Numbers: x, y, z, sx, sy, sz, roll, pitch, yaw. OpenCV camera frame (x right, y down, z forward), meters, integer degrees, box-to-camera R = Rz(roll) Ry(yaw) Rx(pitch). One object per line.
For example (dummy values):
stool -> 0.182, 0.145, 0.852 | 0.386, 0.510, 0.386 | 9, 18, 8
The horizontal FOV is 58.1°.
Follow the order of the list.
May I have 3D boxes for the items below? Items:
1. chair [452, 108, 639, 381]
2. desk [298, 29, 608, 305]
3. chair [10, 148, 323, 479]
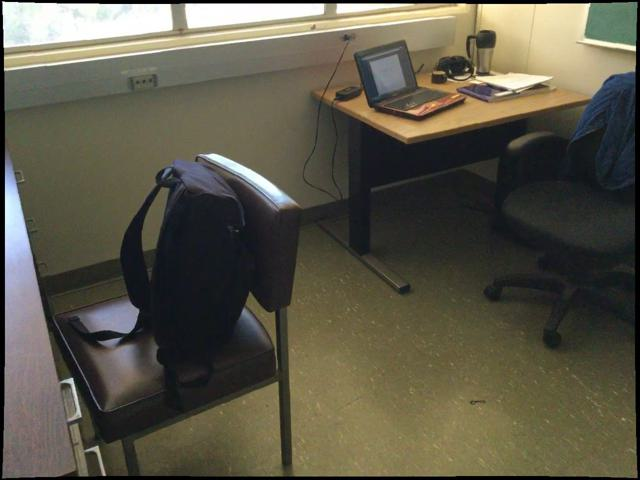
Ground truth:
chair -> 1.007, -0.040, 2.160 | 0.679, 0.641, 0.670 | -17, 32, -25
desk -> 0.549, -0.411, 2.640 | 0.998, 0.852, 0.810 | -17, 32, -25
chair -> -0.389, 0.261, 1.570 | 0.579, 0.792, 0.540 | -17, 32, -25
